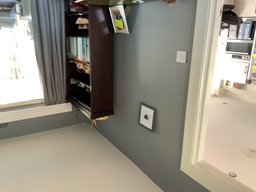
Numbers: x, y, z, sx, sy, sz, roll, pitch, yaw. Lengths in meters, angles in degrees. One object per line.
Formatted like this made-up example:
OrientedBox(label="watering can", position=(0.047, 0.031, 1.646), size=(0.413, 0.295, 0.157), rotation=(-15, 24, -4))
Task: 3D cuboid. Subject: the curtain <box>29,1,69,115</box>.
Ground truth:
OrientedBox(label="curtain", position=(-1.080, -0.500, 2.940), size=(0.360, 1.450, 0.310), rotation=(-9, -161, -29))
